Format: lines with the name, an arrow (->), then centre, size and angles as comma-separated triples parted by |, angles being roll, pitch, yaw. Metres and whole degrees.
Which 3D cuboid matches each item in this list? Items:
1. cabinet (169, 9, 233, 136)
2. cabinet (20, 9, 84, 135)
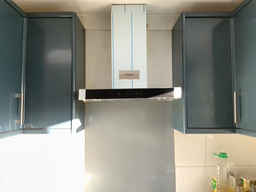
cabinet -> 0.500, -0.150, 1.530 | 0.320, 0.820, 0.330 | -1, -3, -1
cabinet -> -0.510, -0.150, 1.510 | 0.330, 0.800, 0.340 | -1, -3, -1
